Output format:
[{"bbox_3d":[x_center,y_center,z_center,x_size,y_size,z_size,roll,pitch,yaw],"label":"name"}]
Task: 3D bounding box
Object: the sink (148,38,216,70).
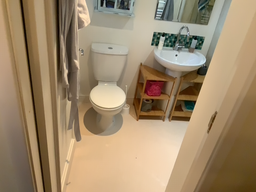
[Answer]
[{"bbox_3d":[0.600,-0.490,2.450,0.630,0.170,0.440,2,33,-12],"label":"sink"}]
